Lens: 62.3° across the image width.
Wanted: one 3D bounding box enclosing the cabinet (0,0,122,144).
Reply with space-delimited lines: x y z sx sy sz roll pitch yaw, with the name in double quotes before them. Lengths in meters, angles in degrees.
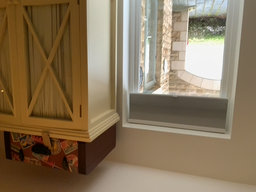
"cabinet" -0.650 -0.770 1.540 1.070 1.980 0.610 4 -169 17
